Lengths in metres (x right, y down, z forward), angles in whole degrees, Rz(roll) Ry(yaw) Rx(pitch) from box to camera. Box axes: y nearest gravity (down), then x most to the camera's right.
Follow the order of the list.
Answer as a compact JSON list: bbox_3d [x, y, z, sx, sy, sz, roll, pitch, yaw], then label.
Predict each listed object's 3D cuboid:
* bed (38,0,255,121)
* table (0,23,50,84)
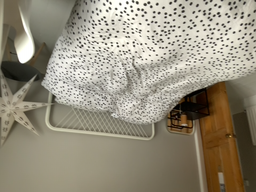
[{"bbox_3d":[0.230,-0.400,2.130,1.700,0.640,2.230,12,156,-28],"label":"bed"},{"bbox_3d":[-1.200,-0.440,2.370,0.490,0.400,0.440,12,156,-28],"label":"table"}]
